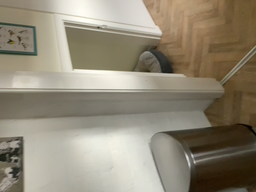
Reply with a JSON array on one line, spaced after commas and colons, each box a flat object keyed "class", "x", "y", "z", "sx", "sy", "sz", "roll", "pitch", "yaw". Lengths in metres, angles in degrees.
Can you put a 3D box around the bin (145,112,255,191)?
[{"class": "bin", "x": 0.550, "y": 0.370, "z": 1.370, "sx": 0.390, "sy": 0.710, "sz": 0.340, "roll": -63, "pitch": 37, "yaw": 43}]
